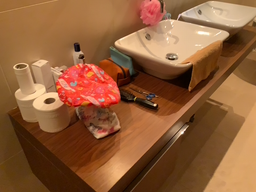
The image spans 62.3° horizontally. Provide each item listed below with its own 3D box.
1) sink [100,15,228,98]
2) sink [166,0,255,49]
[{"bbox_3d":[0.210,-0.270,1.190,0.450,0.150,0.570,27,45,31],"label":"sink"},{"bbox_3d":[0.640,-0.570,1.600,0.460,0.140,0.540,27,45,31],"label":"sink"}]
